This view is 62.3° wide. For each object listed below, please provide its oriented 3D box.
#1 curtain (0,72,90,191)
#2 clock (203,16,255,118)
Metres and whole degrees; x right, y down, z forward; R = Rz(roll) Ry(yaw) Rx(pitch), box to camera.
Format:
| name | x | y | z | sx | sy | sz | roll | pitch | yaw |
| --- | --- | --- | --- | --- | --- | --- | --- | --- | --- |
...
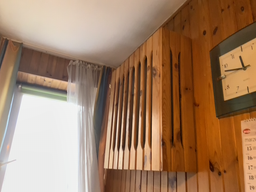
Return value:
| name | x | y | z | sx | sy | sz | roll | pitch | yaw |
| --- | --- | --- | --- | --- | --- | --- | --- | --- | --- |
| curtain | -0.730 | 0.650 | 1.720 | 0.630 | 1.650 | 0.150 | 12 | -22 | -24 |
| clock | 0.440 | -0.110 | 0.790 | 0.060 | 0.320 | 0.330 | 13 | -22 | -26 |
